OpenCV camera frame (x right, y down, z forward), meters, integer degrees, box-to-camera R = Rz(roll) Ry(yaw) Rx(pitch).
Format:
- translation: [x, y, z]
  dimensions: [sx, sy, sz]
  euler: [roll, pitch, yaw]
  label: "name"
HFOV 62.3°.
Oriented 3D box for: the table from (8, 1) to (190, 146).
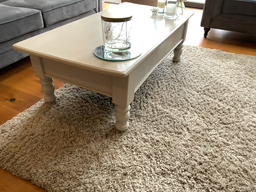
- translation: [-0.060, -0.330, 1.630]
  dimensions: [0.700, 0.470, 1.270]
  euler: [17, 38, 20]
  label: "table"
